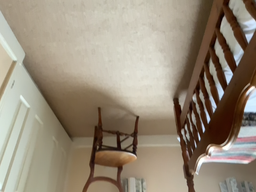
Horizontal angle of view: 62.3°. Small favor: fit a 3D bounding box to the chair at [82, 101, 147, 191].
[{"bbox_3d":[-0.150,0.560,2.010,0.450,0.800,0.550,8,143,-13],"label":"chair"}]
